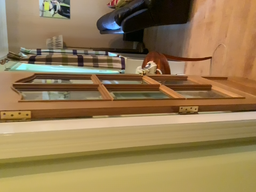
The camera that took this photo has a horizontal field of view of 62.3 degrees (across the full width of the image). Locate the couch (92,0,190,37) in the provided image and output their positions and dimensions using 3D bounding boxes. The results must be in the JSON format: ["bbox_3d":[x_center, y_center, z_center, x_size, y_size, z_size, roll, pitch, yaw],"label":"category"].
[{"bbox_3d":[0.070,-1.500,3.200,1.680,0.930,1.030,-136,49,-65],"label":"couch"}]
